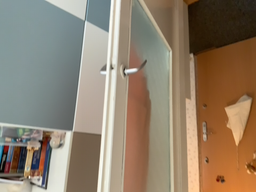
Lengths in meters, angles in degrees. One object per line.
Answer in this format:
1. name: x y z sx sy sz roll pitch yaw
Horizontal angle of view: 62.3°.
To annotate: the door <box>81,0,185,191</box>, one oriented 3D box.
1. door: 0.140 -0.090 1.140 0.090 1.990 0.930 -5 164 28
